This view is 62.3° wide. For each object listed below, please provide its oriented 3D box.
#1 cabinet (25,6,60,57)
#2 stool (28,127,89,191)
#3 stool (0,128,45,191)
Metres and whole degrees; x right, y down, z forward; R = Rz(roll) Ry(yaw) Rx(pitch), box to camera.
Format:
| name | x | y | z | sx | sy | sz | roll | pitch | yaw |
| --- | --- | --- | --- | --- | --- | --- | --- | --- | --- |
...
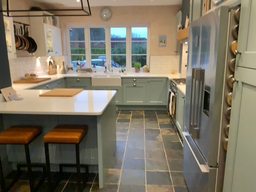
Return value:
| name | x | y | z | sx | sy | sz | roll | pitch | yaw |
| --- | --- | --- | --- | --- | --- | --- | --- | --- | --- |
| cabinet | -2.040 | -1.530 | 5.190 | 0.340 | 1.080 | 1.030 | 0 | 12 | 2 |
| stool | -0.740 | 0.710 | 2.360 | 0.500 | 0.620 | 0.390 | 0 | 12 | 2 |
| stool | -1.290 | 0.720 | 2.380 | 0.500 | 0.620 | 0.390 | 0 | 12 | 2 |
